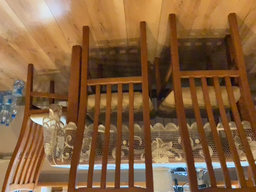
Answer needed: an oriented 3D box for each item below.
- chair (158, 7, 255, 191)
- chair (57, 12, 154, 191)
[{"bbox_3d":[0.410,0.080,1.180,0.360,0.960,0.530,0,160,0],"label":"chair"},{"bbox_3d":[-0.070,0.100,1.240,0.390,0.960,0.530,-3,160,6],"label":"chair"}]
